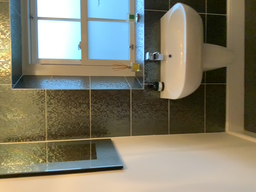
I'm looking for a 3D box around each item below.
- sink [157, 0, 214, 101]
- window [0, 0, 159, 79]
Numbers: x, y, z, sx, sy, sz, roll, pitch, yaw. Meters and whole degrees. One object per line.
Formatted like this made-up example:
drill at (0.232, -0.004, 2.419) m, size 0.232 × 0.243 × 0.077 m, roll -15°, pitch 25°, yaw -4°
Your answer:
sink at (0.380, -0.320, 1.500) m, size 0.470 × 0.190 × 0.680 m, roll -165°, pitch 75°, yaw -78°
window at (-0.410, -0.620, 1.900) m, size 0.350 × 1.310 × 0.910 m, roll -174°, pitch 83°, yaw -79°
